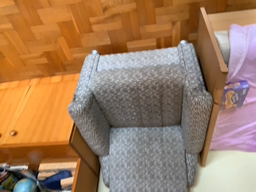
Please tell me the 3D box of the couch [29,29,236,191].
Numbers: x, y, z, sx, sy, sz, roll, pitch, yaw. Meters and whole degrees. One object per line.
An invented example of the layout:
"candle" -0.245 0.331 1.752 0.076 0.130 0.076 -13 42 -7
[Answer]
"couch" 0.070 0.220 1.390 0.770 0.940 0.810 -4 139 8
